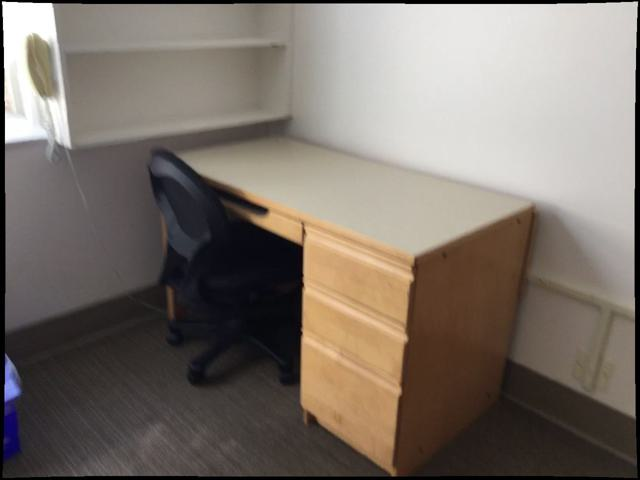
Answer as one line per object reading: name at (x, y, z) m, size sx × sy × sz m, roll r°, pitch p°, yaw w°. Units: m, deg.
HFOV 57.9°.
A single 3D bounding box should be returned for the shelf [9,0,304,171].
shelf at (-0.529, -1.141, 1.970) m, size 1.010 × 1.611 × 0.310 m, roll -20°, pitch 32°, yaw -40°
